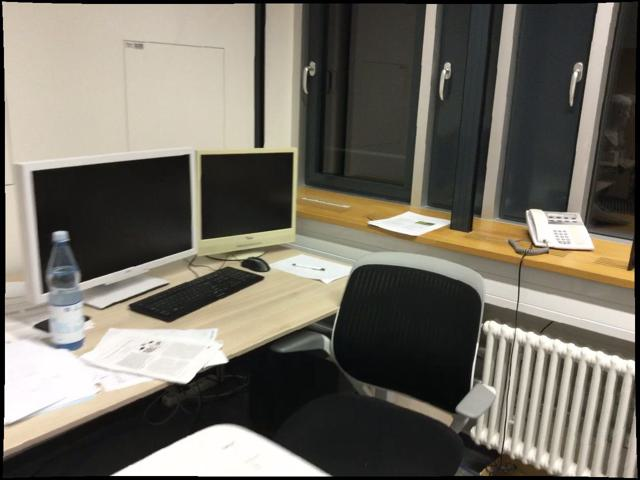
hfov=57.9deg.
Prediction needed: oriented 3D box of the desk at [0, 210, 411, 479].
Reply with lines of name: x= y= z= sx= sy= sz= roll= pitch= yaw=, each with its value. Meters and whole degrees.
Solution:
desk: x=-0.769 y=0.581 z=1.790 sx=1.109 sy=0.821 sz=2.069 roll=14 pitch=22 yaw=39

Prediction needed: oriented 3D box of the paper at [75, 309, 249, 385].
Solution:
paper: x=-0.400 y=0.270 z=1.530 sx=0.330 sy=0.020 sz=0.330 roll=4 pitch=17 yaw=12

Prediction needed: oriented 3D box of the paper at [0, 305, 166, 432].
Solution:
paper: x=-0.639 y=0.290 z=1.420 sx=0.370 sy=0.040 sz=0.430 roll=-12 pitch=20 yaw=-34

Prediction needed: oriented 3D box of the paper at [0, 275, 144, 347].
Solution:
paper: x=-0.789 y=0.200 z=1.750 sx=0.400 sy=0.020 sz=0.320 roll=13 pitch=21 yaw=37

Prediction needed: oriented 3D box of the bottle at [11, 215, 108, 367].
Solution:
bottle: x=-0.639 y=0.120 z=1.430 sx=0.120 sy=0.330 sz=0.140 roll=13 pitch=21 yaw=37

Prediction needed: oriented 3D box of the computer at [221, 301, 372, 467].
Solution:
computer: x=-0.110 y=0.571 z=2.410 sx=0.640 sy=0.450 sz=0.200 roll=13 pitch=21 yaw=37
